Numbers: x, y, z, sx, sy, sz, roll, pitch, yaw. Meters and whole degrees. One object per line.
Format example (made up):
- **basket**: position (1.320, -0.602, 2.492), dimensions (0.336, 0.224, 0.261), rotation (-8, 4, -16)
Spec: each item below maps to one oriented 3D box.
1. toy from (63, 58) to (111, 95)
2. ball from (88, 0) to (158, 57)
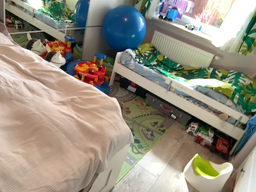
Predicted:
- **toy**: position (-0.510, -0.260, 2.680), dimensions (0.350, 0.230, 0.470), rotation (29, 32, 19)
- **ball**: position (-0.060, -0.930, 2.840), dimensions (0.600, 0.500, 0.640), rotation (28, 32, 18)
